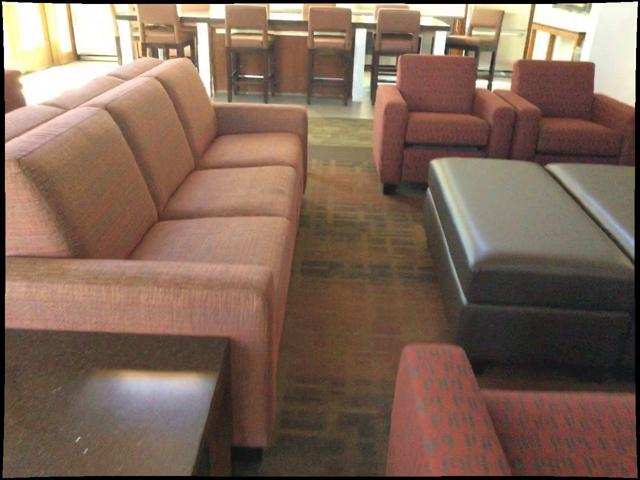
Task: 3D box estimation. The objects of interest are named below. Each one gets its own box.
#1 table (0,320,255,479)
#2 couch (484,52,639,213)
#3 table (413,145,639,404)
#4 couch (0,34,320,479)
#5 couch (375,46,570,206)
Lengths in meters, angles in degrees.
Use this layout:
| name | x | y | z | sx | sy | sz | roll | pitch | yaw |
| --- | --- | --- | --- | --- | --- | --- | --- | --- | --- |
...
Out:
| name | x | y | z | sx | sy | sz | roll | pitch | yaw |
| --- | --- | --- | --- | --- | --- | --- | --- | --- | --- |
| table | -0.549 | 0.571 | 1.310 | 0.689 | 0.470 | 0.640 | 1 | 28 | 2 |
| couch | 1.648 | -0.721 | 3.750 | 0.889 | 0.821 | 0.780 | 1 | 28 | 2 |
| table | 1.079 | 0.060 | 2.420 | 1.219 | 0.540 | 1.170 | 1 | 28 | 2 |
| couch | -0.490 | -0.210 | 2.450 | 0.879 | 0.921 | 2.230 | 1 | 28 | 2 |
| couch | 0.899 | -0.771 | 3.770 | 1.009 | 0.811 | 0.810 | 1 | 28 | 2 |
